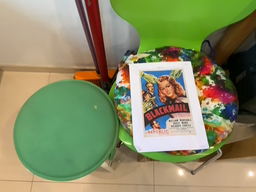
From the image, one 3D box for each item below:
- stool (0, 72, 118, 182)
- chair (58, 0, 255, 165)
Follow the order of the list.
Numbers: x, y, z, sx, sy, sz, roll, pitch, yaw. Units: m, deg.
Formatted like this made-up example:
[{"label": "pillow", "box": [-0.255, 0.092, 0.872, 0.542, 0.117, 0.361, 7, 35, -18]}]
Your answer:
[{"label": "stool", "box": [-0.220, 0.160, 0.880, 0.330, 0.480, 0.330, 2, 71, -1]}, {"label": "chair", "box": [0.140, -0.040, 0.760, 0.460, 0.870, 0.510, 3, 71, -1]}]
